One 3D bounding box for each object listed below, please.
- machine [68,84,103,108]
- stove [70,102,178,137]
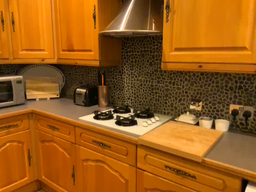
[{"bbox_3d":[-0.440,-0.010,2.220,0.260,0.180,0.240,9,14,36],"label":"machine"},{"bbox_3d":[-0.030,0.160,1.750,0.690,0.020,0.560,9,14,37],"label":"stove"}]
